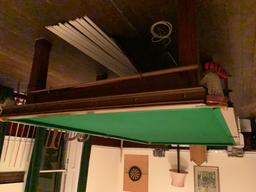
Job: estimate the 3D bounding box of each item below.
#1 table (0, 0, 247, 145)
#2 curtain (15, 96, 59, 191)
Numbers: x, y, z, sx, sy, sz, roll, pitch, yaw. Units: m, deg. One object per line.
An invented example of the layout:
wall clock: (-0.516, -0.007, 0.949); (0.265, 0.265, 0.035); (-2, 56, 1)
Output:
table: (0.500, 0.170, 3.240); (2.050, 0.870, 3.820); (-5, 163, 25)
curtain: (-1.900, 1.290, 4.380); (0.390, 2.510, 0.440); (-5, 163, 25)
